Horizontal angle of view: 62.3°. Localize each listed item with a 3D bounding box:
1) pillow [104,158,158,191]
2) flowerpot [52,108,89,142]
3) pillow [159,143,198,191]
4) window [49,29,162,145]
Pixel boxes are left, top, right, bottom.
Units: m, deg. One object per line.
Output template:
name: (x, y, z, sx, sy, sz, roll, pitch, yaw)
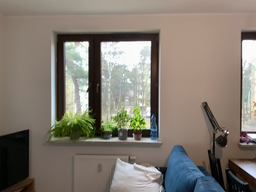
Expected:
pillow: (0.050, 0.980, 2.470, 0.570, 0.340, 0.450, 1, 1, 7)
flowerpot: (-0.790, 0.390, 2.950, 0.400, 0.410, 0.340, 1, 1, 5)
pillow: (0.480, 0.900, 2.190, 0.240, 0.610, 0.940, 1, 1, 4)
window: (-0.320, -0.120, 2.880, 1.510, 1.500, 0.110, 1, 1, 6)
